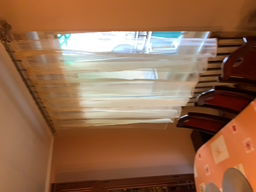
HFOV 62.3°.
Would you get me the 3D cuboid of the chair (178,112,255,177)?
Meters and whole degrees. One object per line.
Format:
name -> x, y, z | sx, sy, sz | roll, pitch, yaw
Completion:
chair -> 0.990, 0.430, 1.910 | 0.400, 0.930, 0.490 | 108, 159, -72
